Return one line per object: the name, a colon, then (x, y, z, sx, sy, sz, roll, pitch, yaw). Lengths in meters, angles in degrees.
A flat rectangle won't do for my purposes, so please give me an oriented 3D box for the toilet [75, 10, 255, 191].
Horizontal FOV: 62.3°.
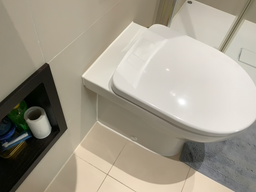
toilet: (0.140, 0.040, 0.850, 0.530, 0.450, 0.370, 26, 55, 11)
